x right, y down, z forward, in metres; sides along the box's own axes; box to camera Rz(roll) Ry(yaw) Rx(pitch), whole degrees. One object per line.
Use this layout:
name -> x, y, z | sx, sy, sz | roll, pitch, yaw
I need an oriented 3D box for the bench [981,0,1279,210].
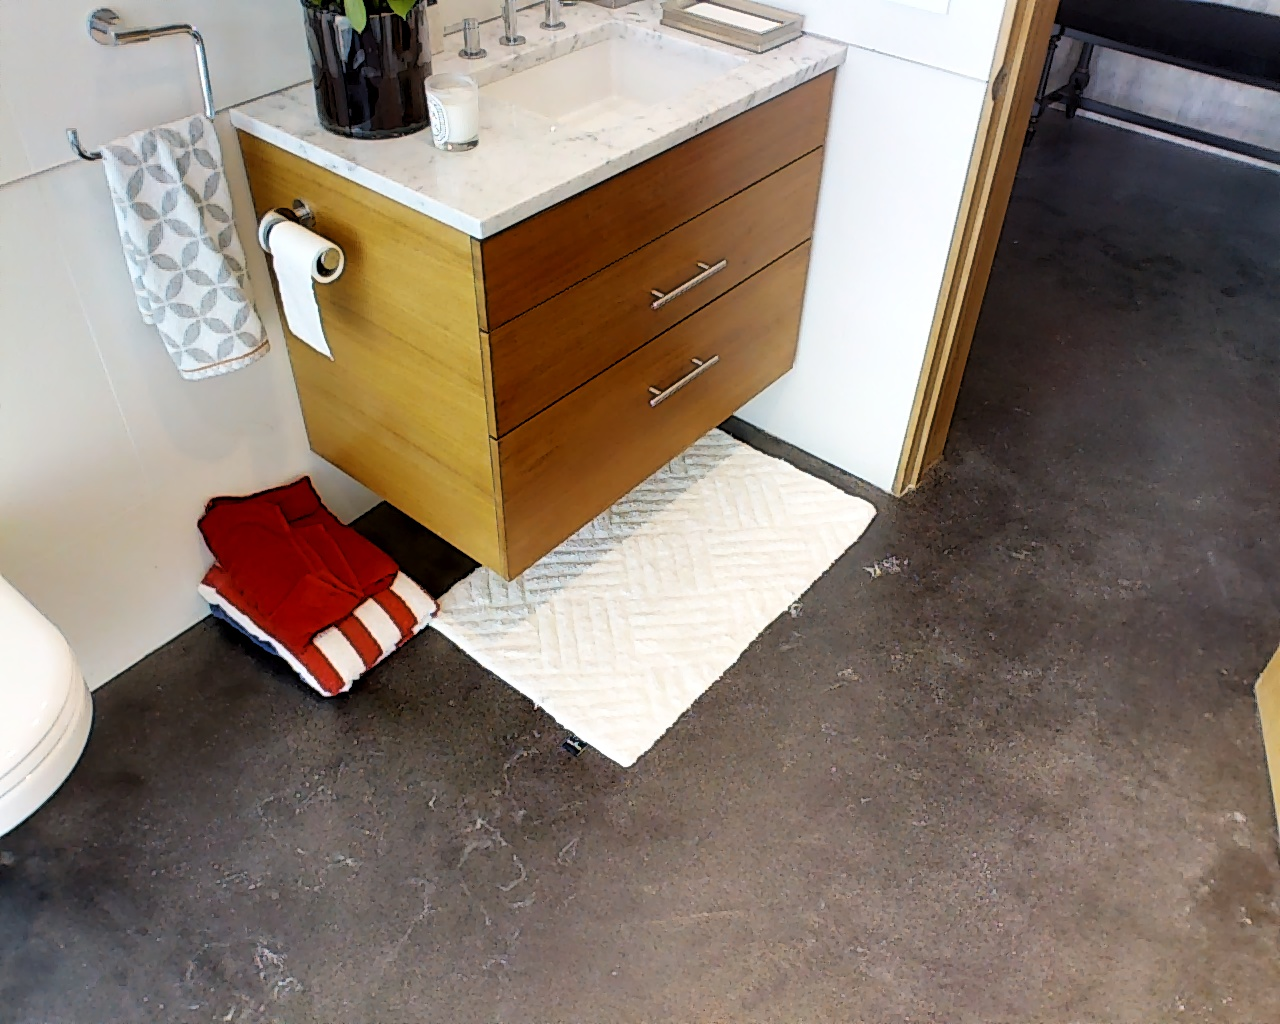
bench -> 1.950, -1.420, 3.580 | 1.440, 0.500, 0.440 | 30, 50, 29
